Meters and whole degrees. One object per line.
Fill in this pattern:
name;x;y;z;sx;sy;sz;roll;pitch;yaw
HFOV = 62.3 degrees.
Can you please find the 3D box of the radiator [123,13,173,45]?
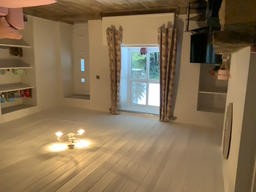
radiator;0.390;-1.370;4.380;1.030;0.590;0.060;5;-169;19
